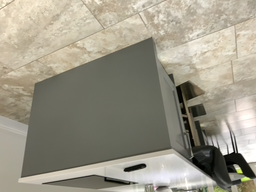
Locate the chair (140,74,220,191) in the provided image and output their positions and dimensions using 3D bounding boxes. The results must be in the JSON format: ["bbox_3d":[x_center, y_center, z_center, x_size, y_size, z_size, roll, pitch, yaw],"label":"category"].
[{"bbox_3d":[0.510,0.390,2.160,0.510,1.000,0.500,-17,150,21],"label":"chair"}]
